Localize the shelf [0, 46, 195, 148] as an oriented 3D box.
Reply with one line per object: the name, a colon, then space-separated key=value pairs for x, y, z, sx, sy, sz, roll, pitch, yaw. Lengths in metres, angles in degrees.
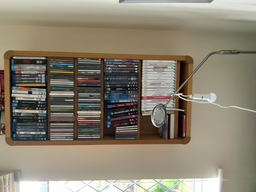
shelf: x=-0.150 y=0.010 z=1.220 sx=0.150 sy=1.020 sz=0.530 roll=-137 pitch=48 yaw=-82
